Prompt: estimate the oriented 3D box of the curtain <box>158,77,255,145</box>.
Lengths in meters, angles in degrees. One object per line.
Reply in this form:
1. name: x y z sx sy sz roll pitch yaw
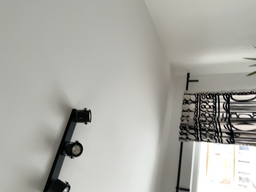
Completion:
1. curtain: 1.520 0.160 2.140 0.360 2.340 0.610 52 -135 -51
